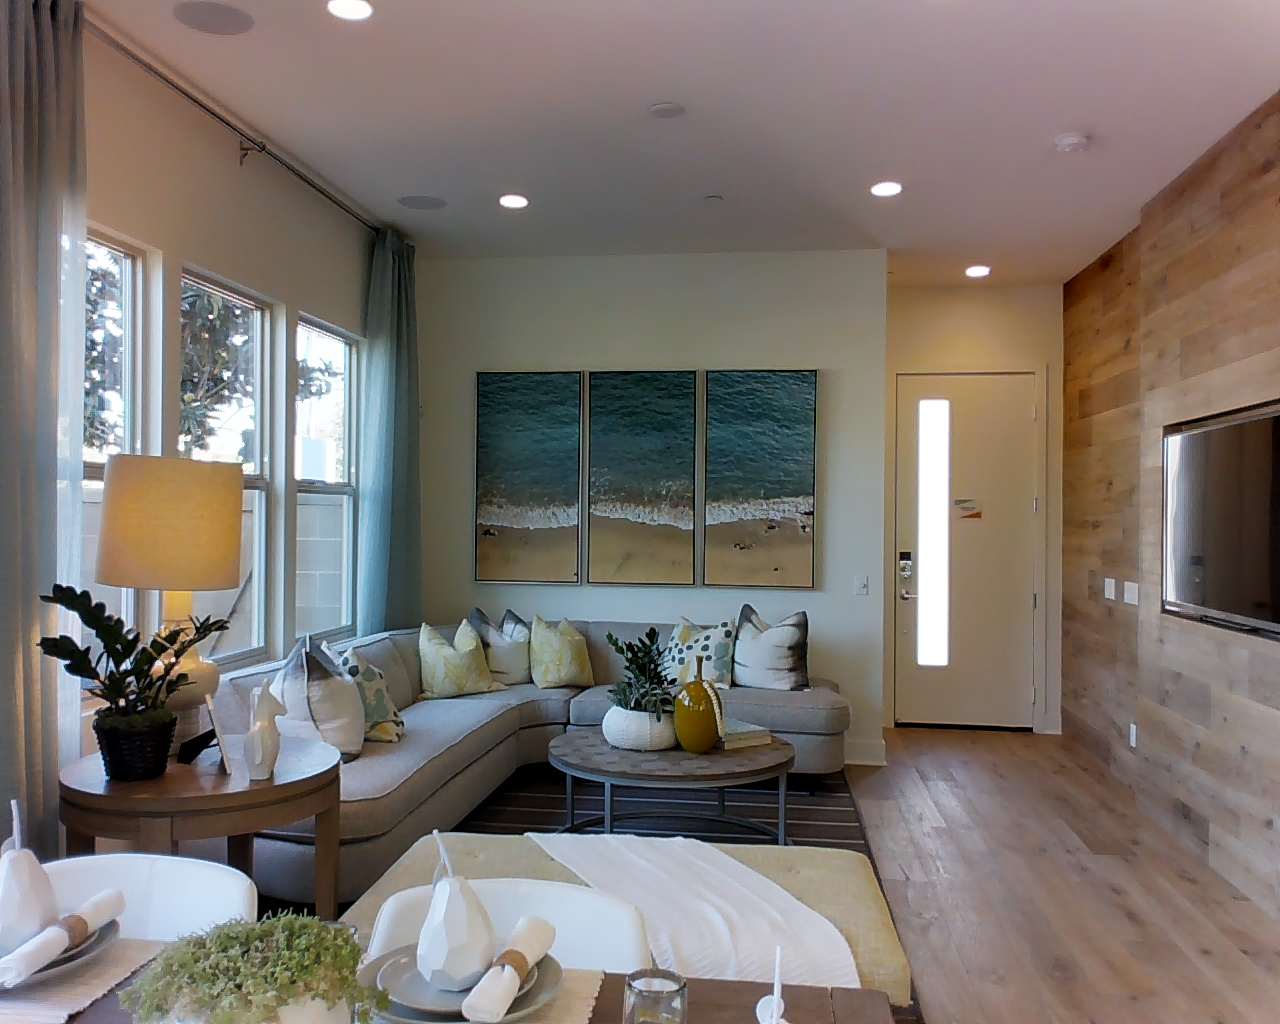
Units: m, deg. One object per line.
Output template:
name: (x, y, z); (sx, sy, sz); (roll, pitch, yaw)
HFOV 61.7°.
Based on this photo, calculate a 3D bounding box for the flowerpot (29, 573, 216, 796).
flowerpot: (-1.399, 0.450, 2.930); (0.430, 0.550, 0.280); (1, -1, -22)

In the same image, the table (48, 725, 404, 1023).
table: (-1.219, 1.100, 3.130); (0.770, 0.760, 0.760); (2, -1, -38)

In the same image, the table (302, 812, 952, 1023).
table: (0.000, 1.231, 2.930); (1.509, 0.500, 0.930); (1, -1, 8)
